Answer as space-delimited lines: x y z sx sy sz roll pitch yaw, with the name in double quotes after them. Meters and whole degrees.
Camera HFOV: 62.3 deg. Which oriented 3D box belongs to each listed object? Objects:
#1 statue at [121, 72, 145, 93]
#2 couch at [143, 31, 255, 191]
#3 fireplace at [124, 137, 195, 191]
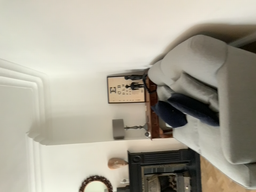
0.090 -0.250 3.930 0.280 0.400 0.360 -144 52 -85 "statue"
0.730 0.140 2.440 1.940 0.800 1.190 -171 79 -86 "couch"
0.530 1.580 3.790 0.670 1.120 1.510 162 105 -86 "fireplace"
